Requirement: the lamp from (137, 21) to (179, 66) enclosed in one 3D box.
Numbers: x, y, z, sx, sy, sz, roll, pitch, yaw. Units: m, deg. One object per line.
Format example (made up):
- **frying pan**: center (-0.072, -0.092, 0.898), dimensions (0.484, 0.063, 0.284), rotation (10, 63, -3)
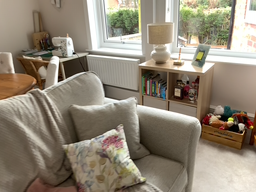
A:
- **lamp**: center (0.360, -0.640, 2.530), dimensions (0.320, 0.450, 0.390), rotation (14, 28, 34)
